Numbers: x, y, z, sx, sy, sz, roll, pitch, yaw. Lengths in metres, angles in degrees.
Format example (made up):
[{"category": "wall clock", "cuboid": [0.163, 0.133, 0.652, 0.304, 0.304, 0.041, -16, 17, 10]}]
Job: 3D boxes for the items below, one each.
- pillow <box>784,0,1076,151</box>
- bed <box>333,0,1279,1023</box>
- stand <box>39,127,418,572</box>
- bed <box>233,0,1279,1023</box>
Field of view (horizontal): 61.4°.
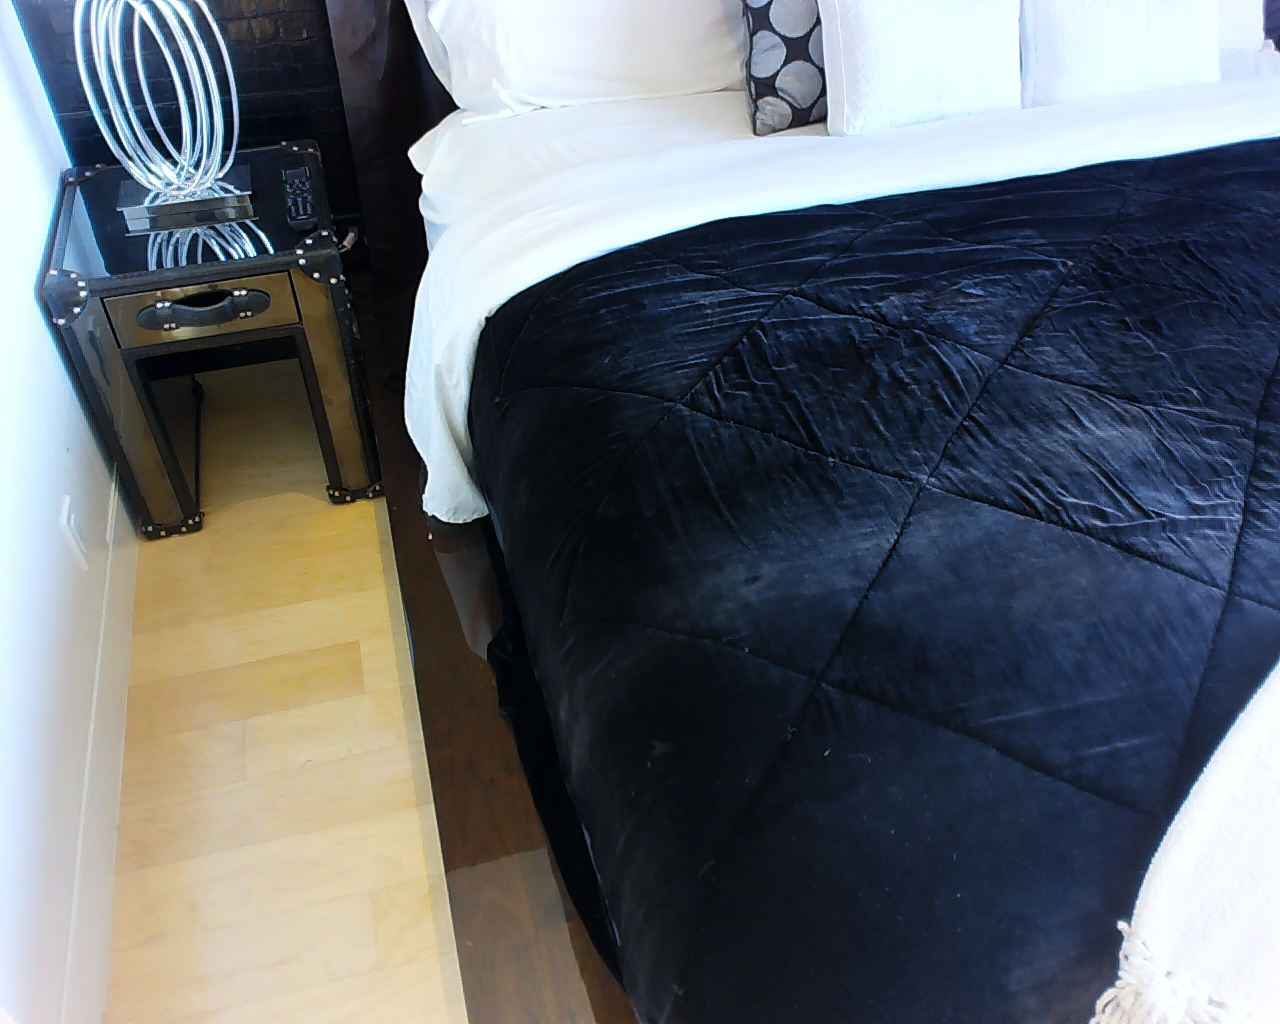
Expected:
[{"category": "pillow", "cuboid": [0.520, -0.860, 1.930, 0.450, 0.310, 0.140, -19, 76, -9]}, {"category": "bed", "cuboid": [0.750, -0.220, 1.820, 2.220, 0.630, 2.170, -11, 44, -12]}, {"category": "stand", "cuboid": [-0.830, -0.360, 2.290, 0.550, 0.620, 0.630, -11, 44, -12]}, {"category": "bed", "cuboid": [0.830, -0.270, 1.730, 2.549, 1.280, 2.440, -11, 44, -12]}]
